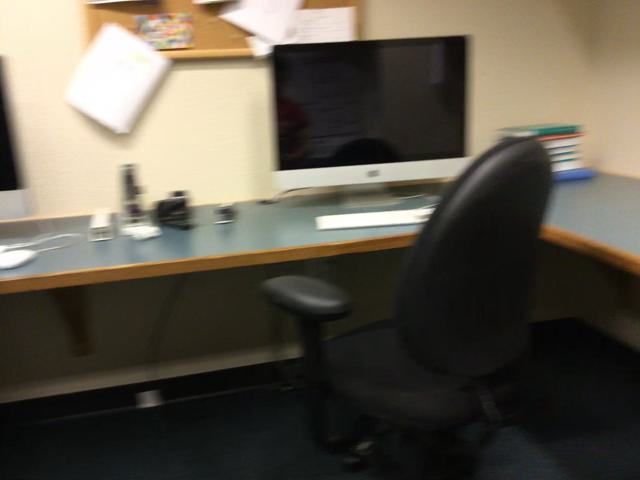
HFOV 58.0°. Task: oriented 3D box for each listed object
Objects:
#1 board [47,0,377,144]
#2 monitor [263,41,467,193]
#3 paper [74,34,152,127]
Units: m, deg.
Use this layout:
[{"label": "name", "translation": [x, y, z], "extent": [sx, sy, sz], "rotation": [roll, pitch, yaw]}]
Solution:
[{"label": "board", "translation": [-0.330, -0.780, 1.880], "extent": [1.010, 0.880, 0.140], "rotation": [-5, 10, -13]}, {"label": "monitor", "translation": [0.150, -0.400, 1.880], "extent": [0.620, 0.440, 0.180], "rotation": [-5, 10, -13]}, {"label": "paper", "translation": [-0.670, -0.520, 1.870], "extent": [0.220, 0.310, 0.080], "rotation": [-5, -25, -13]}]
